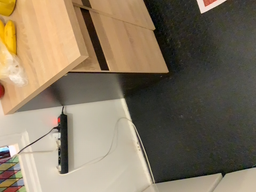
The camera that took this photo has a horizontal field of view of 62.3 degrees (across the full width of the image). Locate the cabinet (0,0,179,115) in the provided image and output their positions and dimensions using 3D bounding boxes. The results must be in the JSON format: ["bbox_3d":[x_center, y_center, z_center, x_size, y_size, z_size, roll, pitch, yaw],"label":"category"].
[{"bbox_3d":[-0.220,-0.310,1.200,0.510,0.860,0.590,-27,78,36],"label":"cabinet"}]
